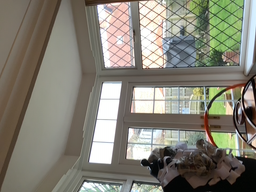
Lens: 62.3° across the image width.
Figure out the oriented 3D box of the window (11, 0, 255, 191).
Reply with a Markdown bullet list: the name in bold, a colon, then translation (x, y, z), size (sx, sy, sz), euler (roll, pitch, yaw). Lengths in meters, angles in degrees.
- **window**: translation (0.320, -0.010, 2.250), size (0.870, 2.060, 2.410), euler (67, -154, -59)
